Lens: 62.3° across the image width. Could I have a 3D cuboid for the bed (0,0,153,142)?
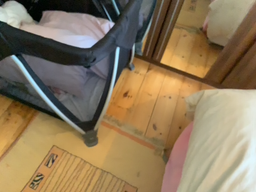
[{"bbox_3d":[-0.460,-0.380,1.230,0.980,0.660,0.780,21,56,4],"label":"bed"}]
